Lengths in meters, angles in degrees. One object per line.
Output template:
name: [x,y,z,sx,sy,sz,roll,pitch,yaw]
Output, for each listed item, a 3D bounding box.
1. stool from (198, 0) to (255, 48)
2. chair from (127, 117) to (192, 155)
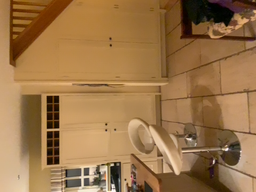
stool: [0.960,-0.680,1.660,0.640,0.520,0.420,172,98,-77]
chair: [0.450,0.600,3.210,0.410,0.820,0.360,104,162,-47]
